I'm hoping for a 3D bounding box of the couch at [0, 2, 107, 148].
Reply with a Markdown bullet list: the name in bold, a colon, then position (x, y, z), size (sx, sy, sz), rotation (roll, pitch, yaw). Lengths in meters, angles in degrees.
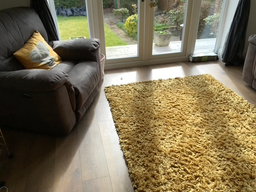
- **couch**: position (-0.780, -0.310, 2.050), size (0.850, 0.970, 1.170), rotation (4, 31, 7)
